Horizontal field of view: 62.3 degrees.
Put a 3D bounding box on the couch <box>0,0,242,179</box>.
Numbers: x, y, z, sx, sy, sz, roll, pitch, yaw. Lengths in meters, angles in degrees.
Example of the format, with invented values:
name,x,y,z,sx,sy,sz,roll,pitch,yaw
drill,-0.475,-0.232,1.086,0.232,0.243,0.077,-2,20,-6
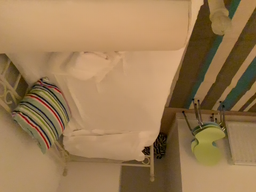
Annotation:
name,x,y,z,sx,sy,sz,roll,pitch,yaw
couch,-0.220,-0.010,1.720,1.070,0.820,2.290,2,149,2

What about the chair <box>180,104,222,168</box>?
name,x,y,z,sx,sy,sz,roll,pitch,yaw
chair,0.840,0.480,2.550,0.330,0.650,0.410,0,148,6
